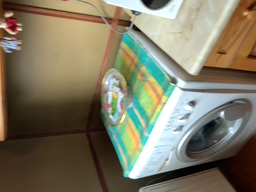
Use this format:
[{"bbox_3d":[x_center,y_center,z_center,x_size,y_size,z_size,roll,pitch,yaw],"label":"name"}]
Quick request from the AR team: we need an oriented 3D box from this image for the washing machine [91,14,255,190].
[{"bbox_3d":[0.340,0.010,1.300,0.630,0.860,0.650,57,137,43],"label":"washing machine"}]
